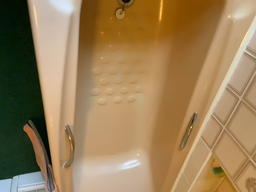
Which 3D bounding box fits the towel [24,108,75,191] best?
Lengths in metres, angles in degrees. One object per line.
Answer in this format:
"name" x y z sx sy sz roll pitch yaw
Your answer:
"towel" -0.450 0.430 1.250 0.150 0.540 0.490 -14 124 -23
